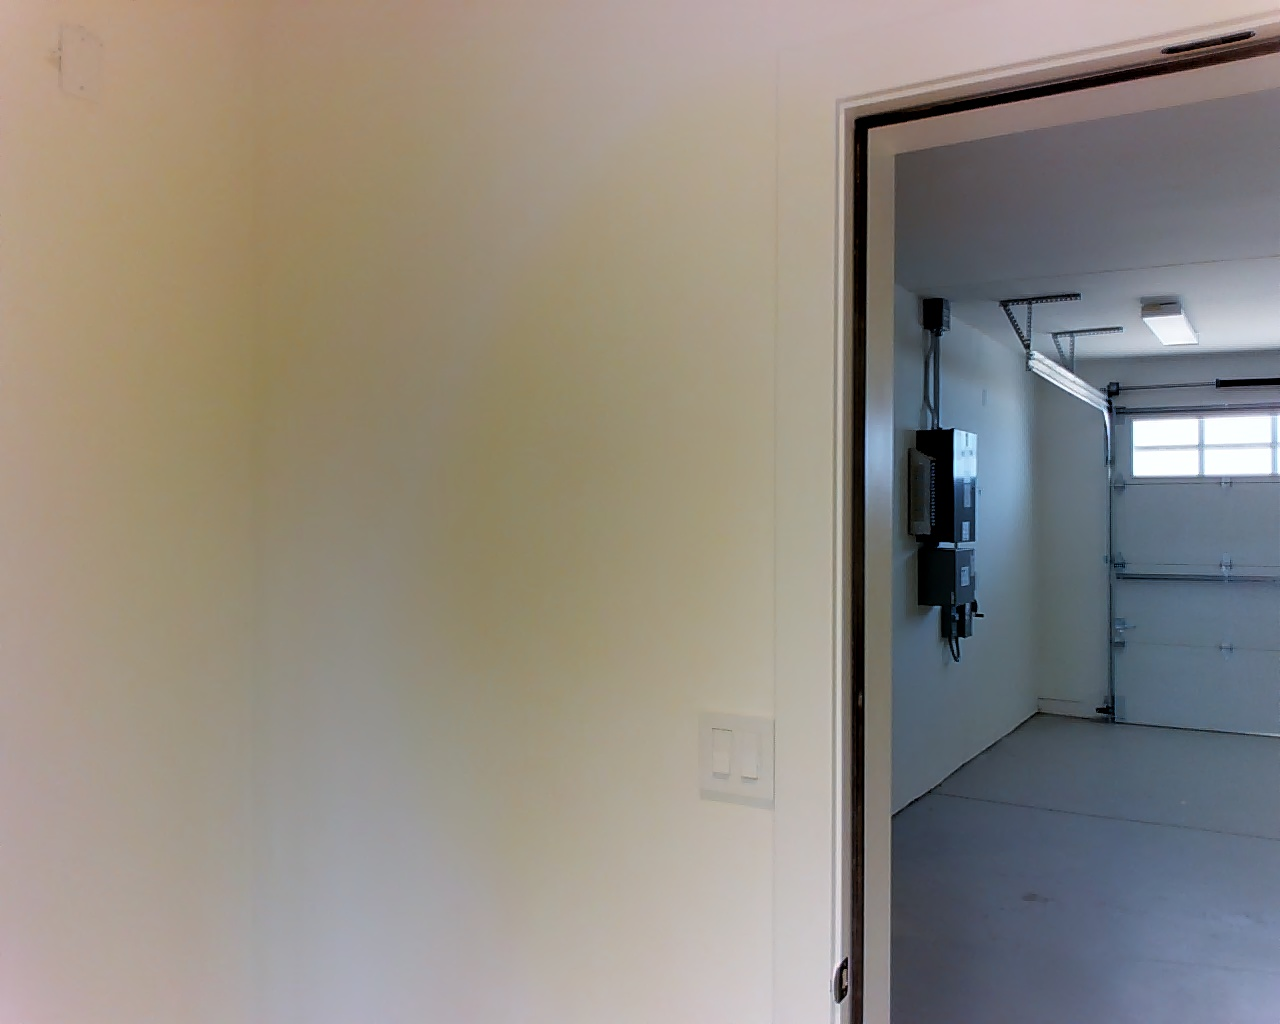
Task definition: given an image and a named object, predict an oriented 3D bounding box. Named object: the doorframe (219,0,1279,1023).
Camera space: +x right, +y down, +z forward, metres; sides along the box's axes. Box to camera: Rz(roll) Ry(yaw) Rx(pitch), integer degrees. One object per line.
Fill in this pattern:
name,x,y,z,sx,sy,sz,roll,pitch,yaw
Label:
doorframe,0.190,0.190,1.540,2.330,2.760,0.090,0,0,32
